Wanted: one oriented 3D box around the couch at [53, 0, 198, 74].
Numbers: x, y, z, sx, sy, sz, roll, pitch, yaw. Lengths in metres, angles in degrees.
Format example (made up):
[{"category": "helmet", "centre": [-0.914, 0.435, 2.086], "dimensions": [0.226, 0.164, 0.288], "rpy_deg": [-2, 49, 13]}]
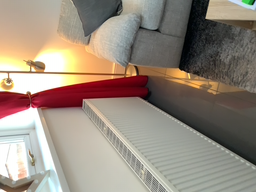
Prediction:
[{"category": "couch", "centre": [-0.090, -0.920, 1.880], "dimensions": [1.090, 0.870, 1.200], "rpy_deg": [34, 120, 55]}]
